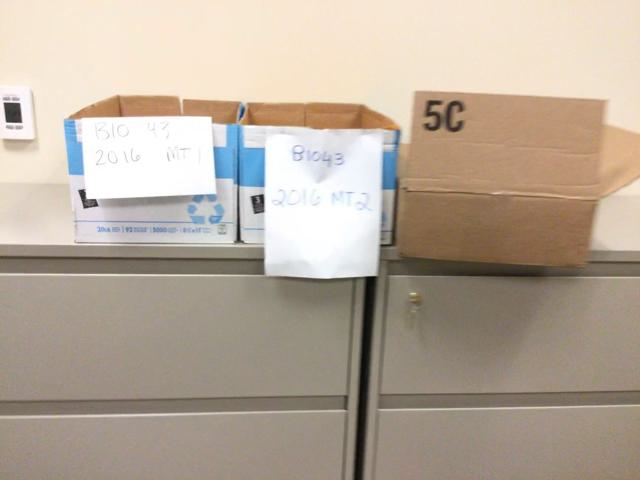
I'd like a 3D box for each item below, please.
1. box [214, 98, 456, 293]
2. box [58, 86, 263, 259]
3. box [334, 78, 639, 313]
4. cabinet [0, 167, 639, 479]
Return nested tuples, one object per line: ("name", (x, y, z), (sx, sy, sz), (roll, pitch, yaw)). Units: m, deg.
("box", (-0.010, -0.120, 1.250), (0.410, 0.330, 0.470), (2, 13, -9))
("box", (-0.300, -0.160, 1.200), (0.320, 0.270, 0.500), (2, 13, -9))
("box", (0.400, -0.120, 1.230), (0.620, 0.360, 0.590), (2, 13, -9))
("cabinet", (0.040, 0.430, 1.380), (2.240, 1.050, 0.600), (2, 13, -9))
